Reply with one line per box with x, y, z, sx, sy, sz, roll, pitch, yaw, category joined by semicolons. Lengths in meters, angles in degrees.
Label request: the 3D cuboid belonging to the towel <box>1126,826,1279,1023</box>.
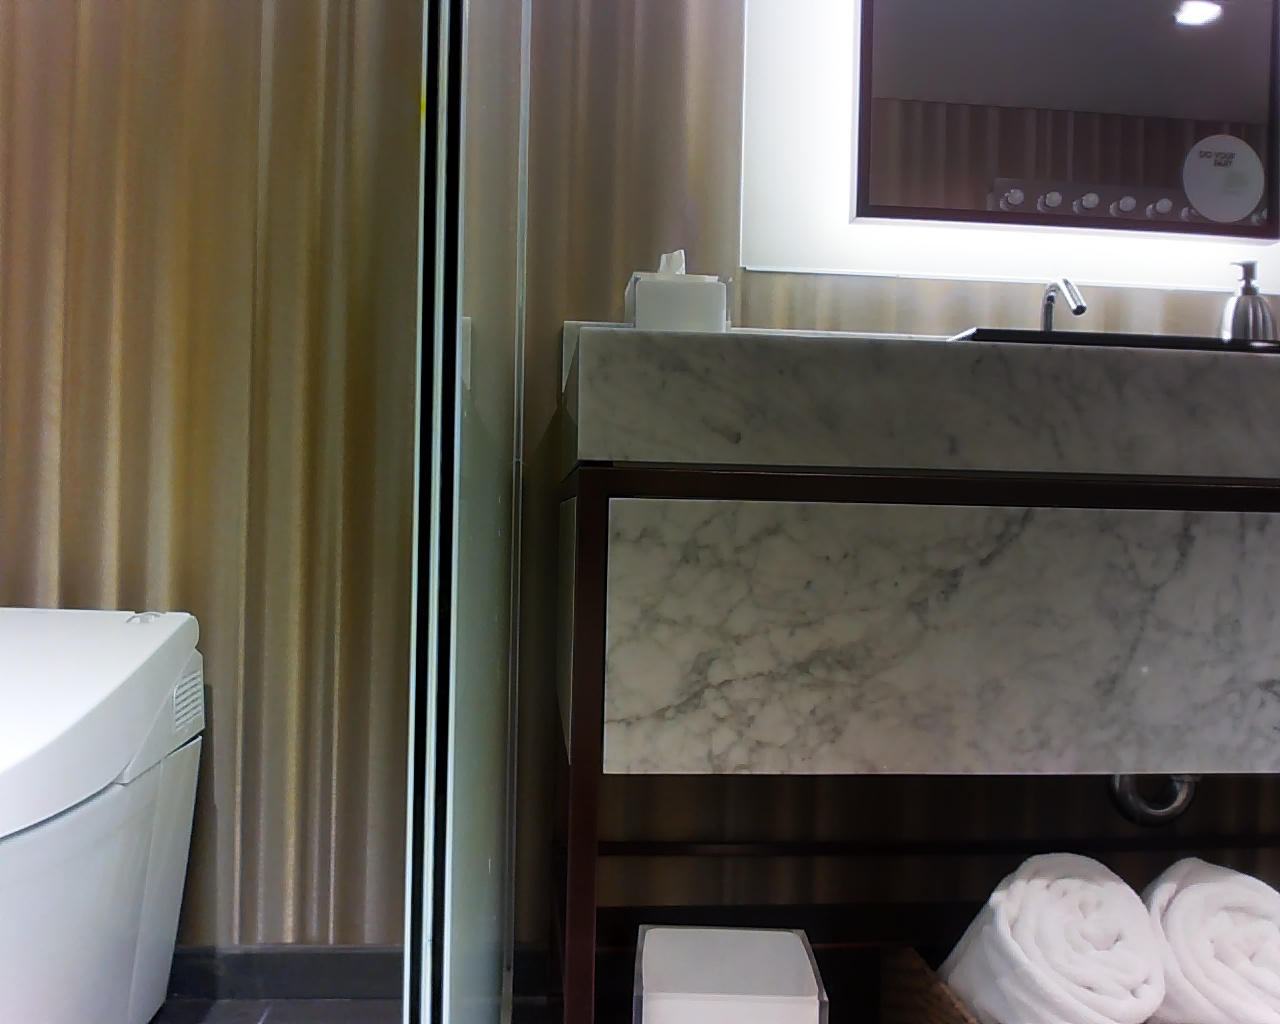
0.620;0.420;1.080;0.200;0.170;0.130;1;0;-5;towel

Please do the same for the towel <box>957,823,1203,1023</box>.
0.430;0.420;1.070;0.180;0.180;0.140;1;0;-3;towel

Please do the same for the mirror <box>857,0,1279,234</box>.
0.650;-0.870;1.540;0.660;0.910;0.040;1;0;-5;mirror

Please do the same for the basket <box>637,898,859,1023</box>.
0.100;0.560;1.100;0.200;0.260;0.190;1;0;-2;basket
